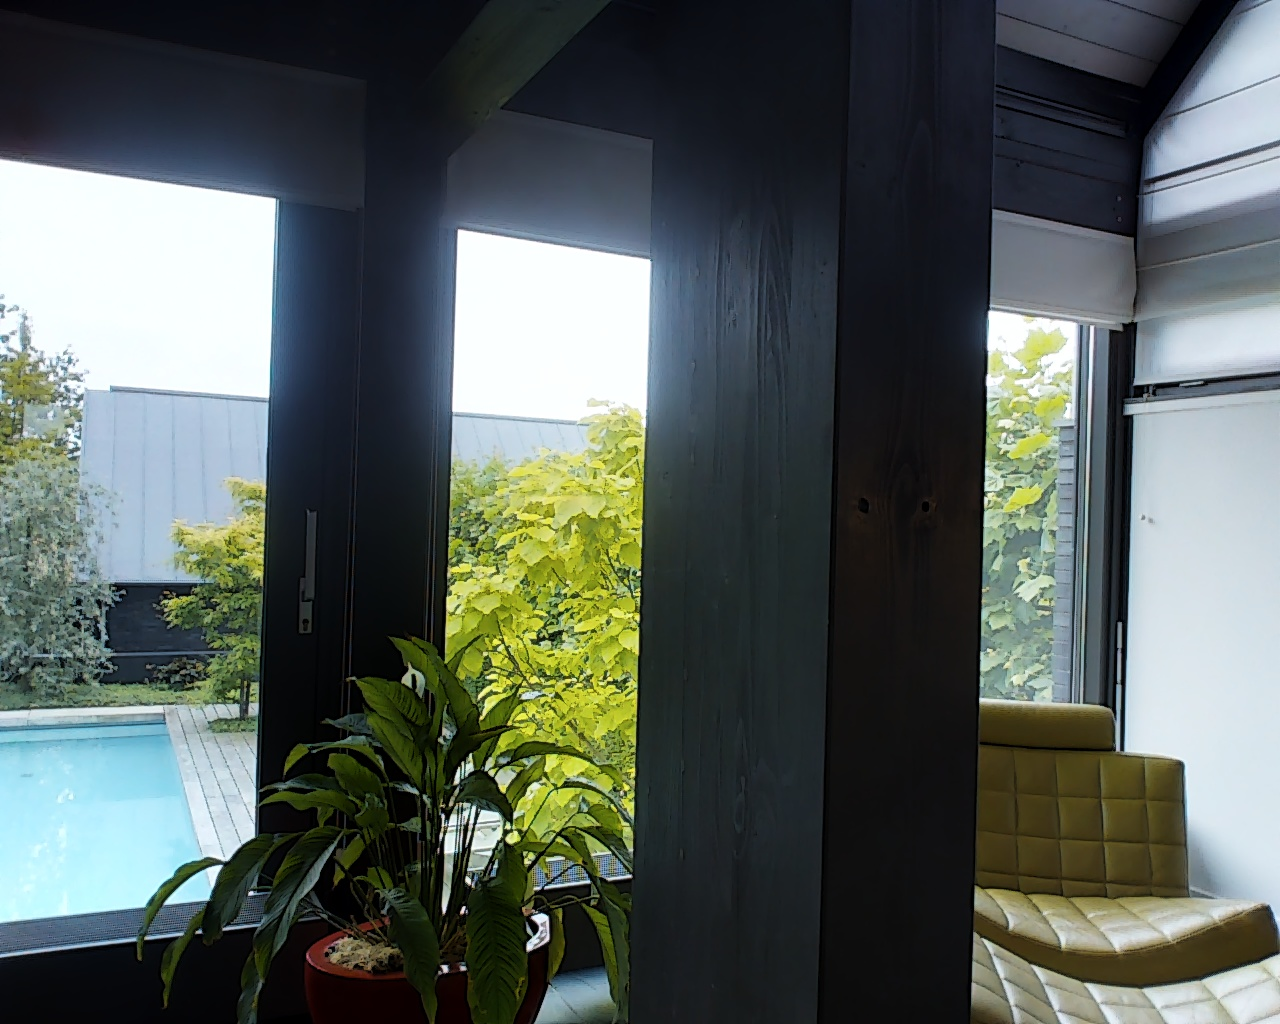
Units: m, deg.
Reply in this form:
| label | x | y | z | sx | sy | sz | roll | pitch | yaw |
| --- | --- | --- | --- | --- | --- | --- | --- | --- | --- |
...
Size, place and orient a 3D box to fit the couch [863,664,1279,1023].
| label | x | y | z | sx | sy | sz | roll | pitch | yaw |
| --- | --- | --- | --- | --- | --- | --- | --- | --- | --- |
| couch | 1.070 | 0.940 | 2.570 | 0.980 | 0.890 | 1.680 | 2 | -1 | 10 |
